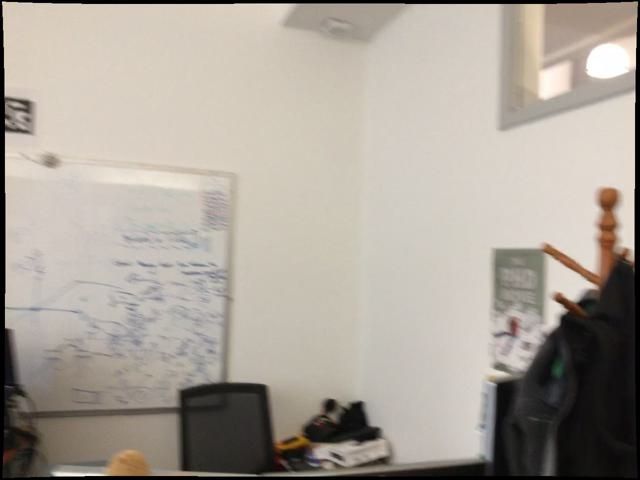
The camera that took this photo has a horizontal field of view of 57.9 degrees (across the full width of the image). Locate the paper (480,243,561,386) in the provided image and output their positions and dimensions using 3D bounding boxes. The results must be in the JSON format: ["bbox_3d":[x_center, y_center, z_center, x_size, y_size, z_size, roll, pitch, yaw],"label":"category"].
[{"bbox_3d":[0.659,0.230,1.930,0.060,0.430,0.320,2,0,-19],"label":"paper"}]

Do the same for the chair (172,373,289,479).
[{"bbox_3d":[-0.430,0.871,2.710,0.470,0.390,0.370,2,0,-19],"label":"chair"}]

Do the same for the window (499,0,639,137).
[{"bbox_3d":[0.869,-0.621,1.750,0.200,0.480,0.760,2,0,-19],"label":"window"}]
